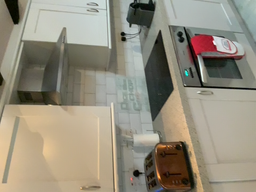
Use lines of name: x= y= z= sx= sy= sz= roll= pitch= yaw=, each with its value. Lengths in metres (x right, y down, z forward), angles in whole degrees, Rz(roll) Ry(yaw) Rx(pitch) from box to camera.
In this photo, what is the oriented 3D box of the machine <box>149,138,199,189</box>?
machine: x=0.250 y=0.380 z=1.210 sx=0.120 sy=0.210 sz=0.250 roll=110 pitch=158 yaw=-58
